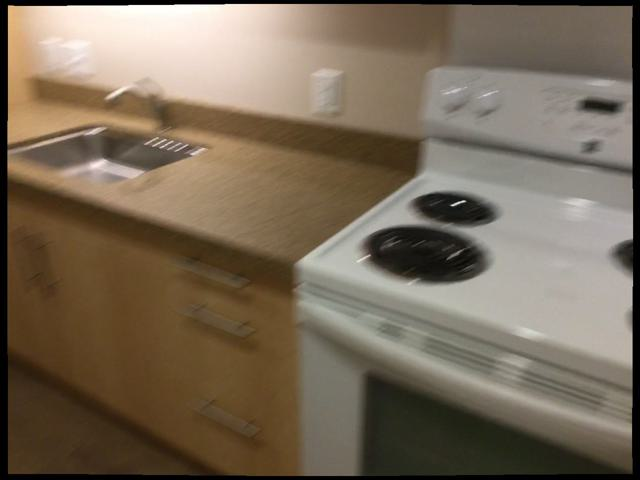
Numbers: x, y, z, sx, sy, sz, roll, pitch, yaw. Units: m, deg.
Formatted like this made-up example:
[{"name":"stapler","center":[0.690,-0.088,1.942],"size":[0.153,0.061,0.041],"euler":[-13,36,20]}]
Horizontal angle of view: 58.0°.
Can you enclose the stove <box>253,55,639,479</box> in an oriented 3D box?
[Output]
[{"name":"stove","center":[0.469,0.301,1.250],"size":[0.849,1.182,0.790],"euler":[16,31,29]}]

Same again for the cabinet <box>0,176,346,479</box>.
[{"name":"cabinet","center":[-0.739,0.260,1.750],"size":[1.818,0.801,0.110],"euler":[16,31,29]}]

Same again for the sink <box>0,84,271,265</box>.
[{"name":"sink","center":[-0.619,-0.260,1.830],"size":[0.699,0.290,0.590],"euler":[16,31,29]}]
